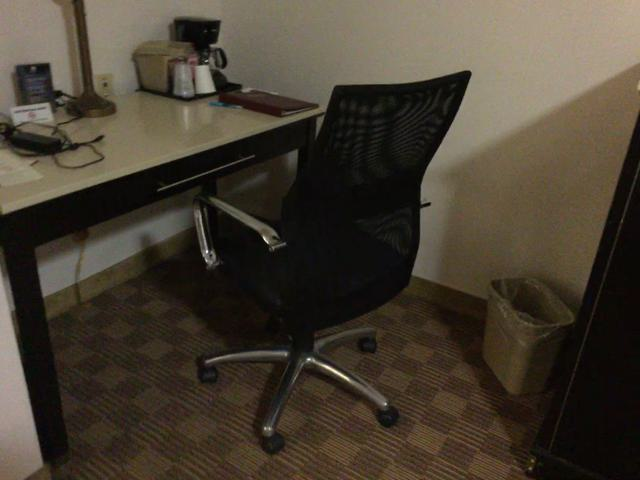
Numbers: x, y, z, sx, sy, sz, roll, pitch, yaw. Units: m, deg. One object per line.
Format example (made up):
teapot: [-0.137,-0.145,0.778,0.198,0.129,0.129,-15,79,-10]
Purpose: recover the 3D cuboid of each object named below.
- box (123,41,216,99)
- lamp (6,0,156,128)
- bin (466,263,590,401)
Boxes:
box: [-0.540,-0.620,2.090,0.240,0.160,0.210,17,28,31]
lamp: [-0.720,-0.710,1.710,0.340,0.670,0.240,17,28,31]
bin: [0.680,0.300,1.960,0.250,0.300,0.370,2,23,0]
